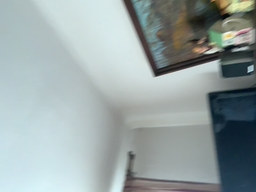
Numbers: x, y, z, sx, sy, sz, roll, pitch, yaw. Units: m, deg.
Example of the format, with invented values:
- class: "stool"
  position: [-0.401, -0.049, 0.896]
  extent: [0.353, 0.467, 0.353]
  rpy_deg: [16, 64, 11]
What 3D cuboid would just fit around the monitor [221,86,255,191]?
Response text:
- class: "monitor"
  position: [0.790, 0.270, 1.270]
  extent: [0.040, 0.410, 0.660]
  rpy_deg: [2, -91, -70]
